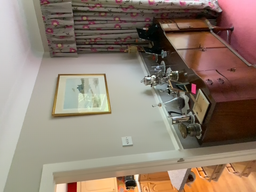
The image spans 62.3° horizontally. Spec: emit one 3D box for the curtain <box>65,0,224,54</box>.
[{"bbox_3d":[0.210,-0.910,2.750,0.240,1.890,0.640,-105,15,-49],"label":"curtain"}]

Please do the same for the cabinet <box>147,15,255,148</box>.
[{"bbox_3d":[0.830,-0.320,2.280,1.640,0.840,0.520,-105,15,-48],"label":"cabinet"}]
